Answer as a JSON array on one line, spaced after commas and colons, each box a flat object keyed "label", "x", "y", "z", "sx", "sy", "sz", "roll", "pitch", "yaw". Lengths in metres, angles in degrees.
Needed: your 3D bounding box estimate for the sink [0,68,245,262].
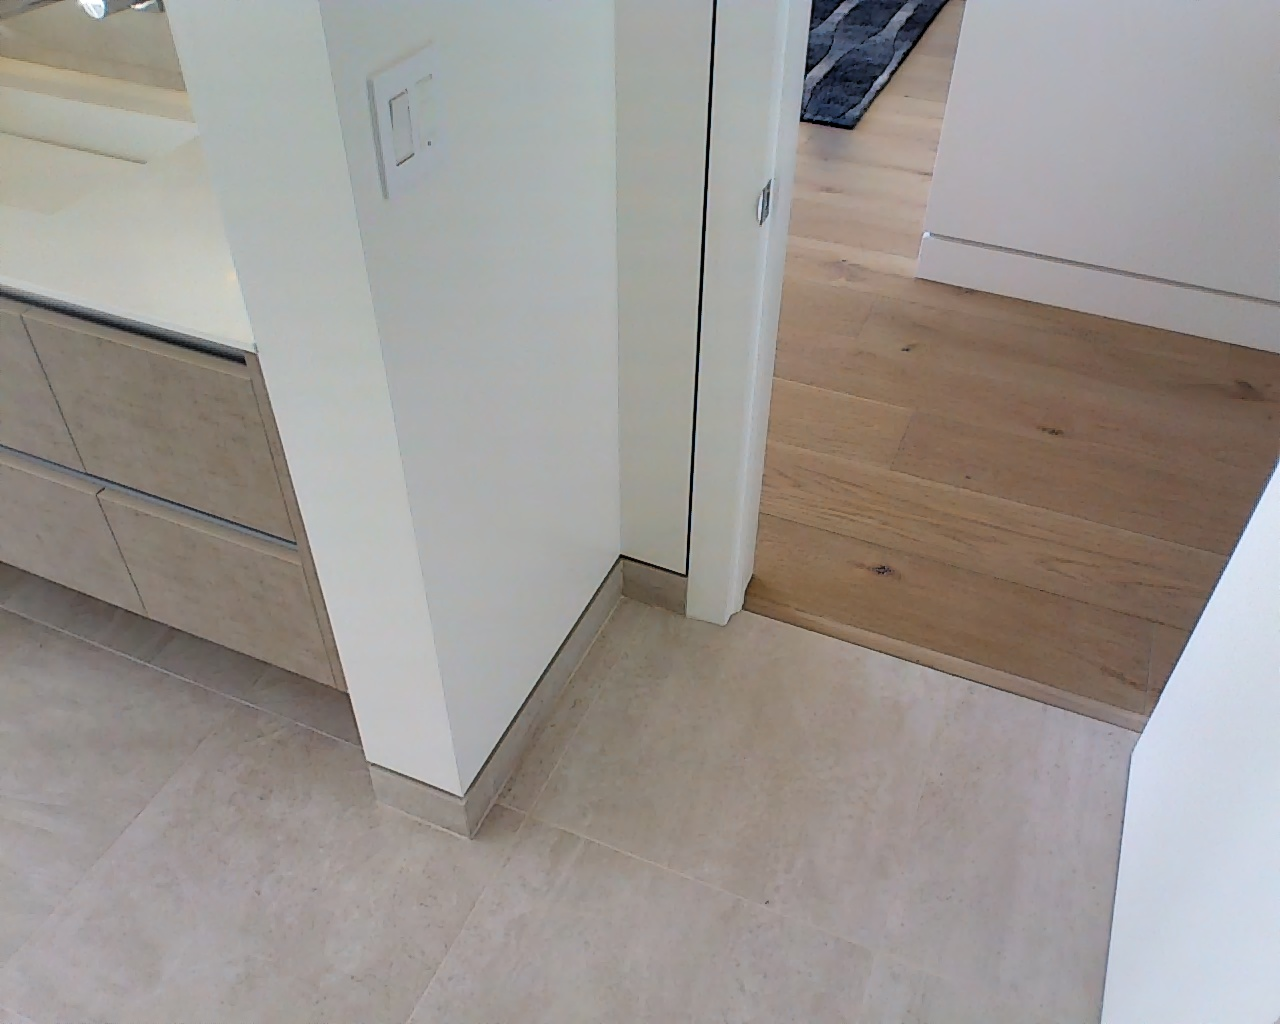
[{"label": "sink", "x": -0.990, "y": -0.570, "z": 1.690, "sx": 0.610, "sy": 0.090, "sz": 0.340, "roll": 16, "pitch": 44, "yaw": 16}]
